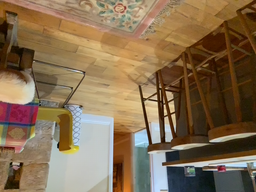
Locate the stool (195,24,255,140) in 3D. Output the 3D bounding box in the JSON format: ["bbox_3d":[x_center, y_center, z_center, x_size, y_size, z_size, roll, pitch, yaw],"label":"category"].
[{"bbox_3d":[0.780,-0.100,1.630,0.300,0.800,0.290,10,157,-24],"label":"stool"}]

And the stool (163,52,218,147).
[{"bbox_3d":[0.560,0.040,1.990,0.300,0.800,0.290,10,157,-24],"label":"stool"}]
